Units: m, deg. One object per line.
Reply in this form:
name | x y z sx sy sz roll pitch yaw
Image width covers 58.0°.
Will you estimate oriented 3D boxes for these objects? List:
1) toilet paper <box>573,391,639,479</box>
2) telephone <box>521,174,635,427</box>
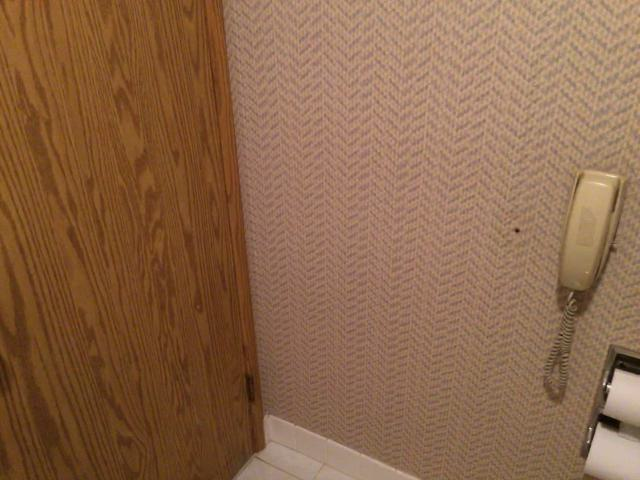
toilet paper | 0.610 0.430 1.160 0.150 0.170 0.120 16 31 27
telephone | 0.460 0.120 1.050 0.090 0.460 0.100 16 31 27
